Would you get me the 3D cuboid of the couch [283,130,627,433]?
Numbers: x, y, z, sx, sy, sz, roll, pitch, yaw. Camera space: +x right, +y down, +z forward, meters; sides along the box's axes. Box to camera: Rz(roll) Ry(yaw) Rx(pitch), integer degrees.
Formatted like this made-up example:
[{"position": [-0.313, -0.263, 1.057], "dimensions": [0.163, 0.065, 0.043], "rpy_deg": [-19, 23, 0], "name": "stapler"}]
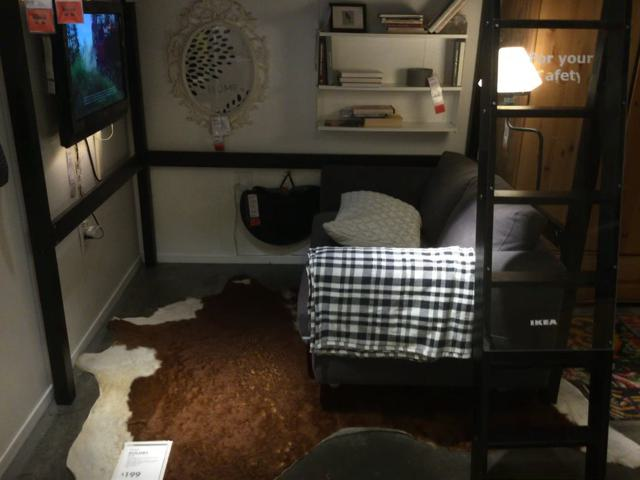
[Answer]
[{"position": [0.430, 0.020, 2.650], "dimensions": [1.020, 0.700, 1.710], "rpy_deg": [-1, 22, 2], "name": "couch"}]
